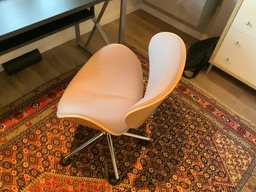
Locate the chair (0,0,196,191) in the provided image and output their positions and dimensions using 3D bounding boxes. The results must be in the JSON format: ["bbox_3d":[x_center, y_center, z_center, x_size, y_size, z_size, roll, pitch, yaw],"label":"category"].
[{"bbox_3d":[-0.110,0.020,1.190,0.620,0.840,0.620,19,50,8],"label":"chair"}]
